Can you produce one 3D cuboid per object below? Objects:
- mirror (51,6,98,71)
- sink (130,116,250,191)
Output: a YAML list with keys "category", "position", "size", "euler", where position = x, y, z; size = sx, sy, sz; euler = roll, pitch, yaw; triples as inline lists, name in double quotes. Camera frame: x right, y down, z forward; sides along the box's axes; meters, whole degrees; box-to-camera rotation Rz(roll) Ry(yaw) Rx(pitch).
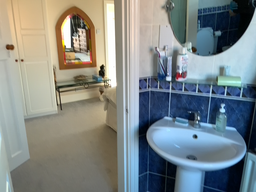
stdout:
- category: "mirror"
  position: [-1.070, -1.150, 4.330]
  size: [0.780, 1.190, 0.310]
  euler: [-11, 16, -33]
- category: "sink"
  position: [0.360, 0.330, 1.240]
  size: [0.560, 0.200, 0.440]
  euler: [8, 18, 23]
